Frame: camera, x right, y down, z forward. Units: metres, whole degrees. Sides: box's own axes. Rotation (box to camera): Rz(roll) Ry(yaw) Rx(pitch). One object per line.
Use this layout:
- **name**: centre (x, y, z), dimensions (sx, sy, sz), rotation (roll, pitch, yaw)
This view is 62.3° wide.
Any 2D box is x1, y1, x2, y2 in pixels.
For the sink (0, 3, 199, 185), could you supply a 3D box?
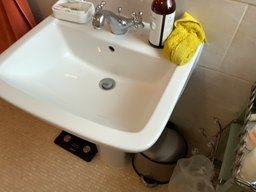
- **sink**: centre (-0.100, -0.060, 0.710), dimensions (0.520, 0.180, 0.450), rotation (22, 54, 15)
